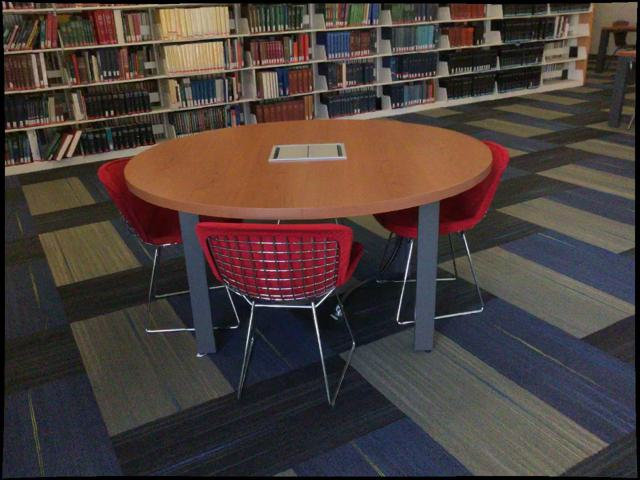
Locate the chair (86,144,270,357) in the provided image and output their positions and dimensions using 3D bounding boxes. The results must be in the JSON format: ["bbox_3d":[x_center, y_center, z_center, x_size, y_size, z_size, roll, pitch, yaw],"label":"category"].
[{"bbox_3d":[-0.578,0.020,2.640,0.628,0.722,0.640,-5,24,-2],"label":"chair"}]

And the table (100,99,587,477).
[{"bbox_3d":[0.000,-0.030,2.630,1.547,0.792,1.490,-15,27,-24],"label":"table"}]

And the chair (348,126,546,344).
[{"bbox_3d":[0.529,-0.060,2.660,0.638,0.732,0.670,-7,25,-8],"label":"chair"}]

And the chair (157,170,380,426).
[{"bbox_3d":[-0.120,0.180,2.160,0.648,0.712,0.630,0,25,9],"label":"chair"}]
